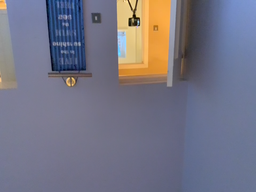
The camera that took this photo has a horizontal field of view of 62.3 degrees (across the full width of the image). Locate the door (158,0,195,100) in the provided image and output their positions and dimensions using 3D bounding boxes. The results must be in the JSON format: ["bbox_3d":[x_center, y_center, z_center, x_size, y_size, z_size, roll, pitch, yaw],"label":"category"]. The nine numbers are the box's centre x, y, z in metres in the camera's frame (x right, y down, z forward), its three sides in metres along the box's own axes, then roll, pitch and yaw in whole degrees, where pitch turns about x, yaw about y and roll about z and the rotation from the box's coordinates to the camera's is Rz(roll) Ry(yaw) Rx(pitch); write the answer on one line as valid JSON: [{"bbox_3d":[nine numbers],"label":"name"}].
[{"bbox_3d":[0.460,-1.090,1.770,0.180,2.090,0.860,5,-164,19],"label":"door"}]
